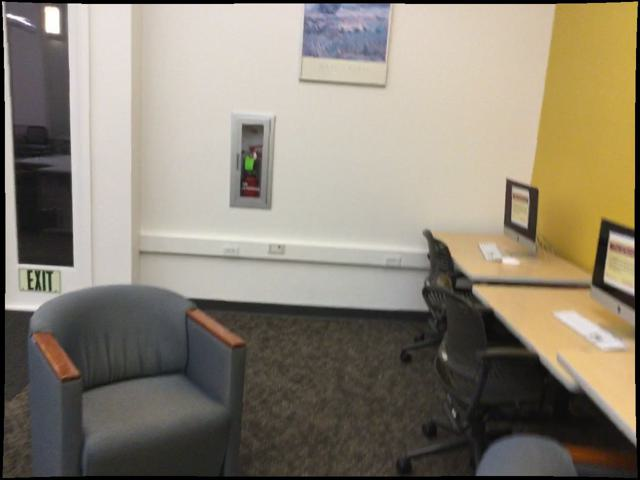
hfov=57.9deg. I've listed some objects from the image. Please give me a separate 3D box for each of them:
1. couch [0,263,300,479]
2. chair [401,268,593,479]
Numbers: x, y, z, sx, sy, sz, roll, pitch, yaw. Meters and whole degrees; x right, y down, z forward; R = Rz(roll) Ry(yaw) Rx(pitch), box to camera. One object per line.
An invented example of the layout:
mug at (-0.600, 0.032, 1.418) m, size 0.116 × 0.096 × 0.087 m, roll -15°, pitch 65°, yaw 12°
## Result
couch at (-0.709, 0.611, 2.250) m, size 0.870 × 0.731 × 0.880 m, roll -8°, pitch 18°, yaw -40°
chair at (0.689, 0.601, 2.440) m, size 0.529 × 0.811 × 0.550 m, roll 3°, pitch 14°, yaw -3°
